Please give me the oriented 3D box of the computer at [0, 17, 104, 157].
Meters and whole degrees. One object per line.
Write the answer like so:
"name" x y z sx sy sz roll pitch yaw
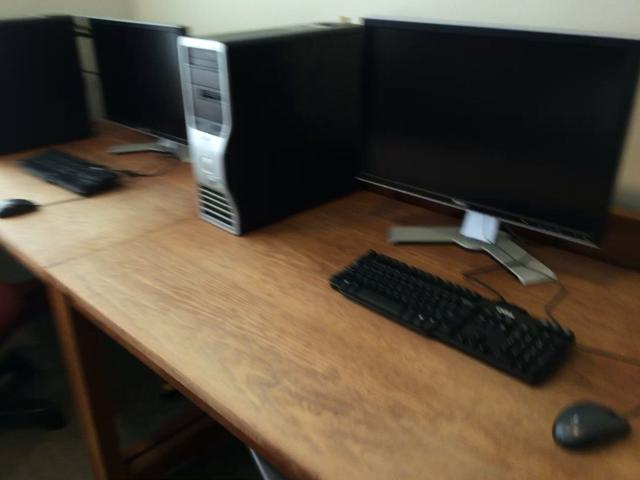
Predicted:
"computer" -1.080 -0.550 2.050 0.500 0.440 0.230 -18 30 -42

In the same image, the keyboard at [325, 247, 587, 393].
"keyboard" 0.220 0.120 1.030 0.150 0.050 0.440 -18 30 -42

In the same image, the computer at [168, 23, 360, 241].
"computer" -0.130 -0.290 1.450 0.420 0.460 0.200 -18 30 -42
